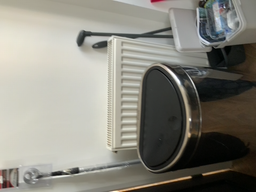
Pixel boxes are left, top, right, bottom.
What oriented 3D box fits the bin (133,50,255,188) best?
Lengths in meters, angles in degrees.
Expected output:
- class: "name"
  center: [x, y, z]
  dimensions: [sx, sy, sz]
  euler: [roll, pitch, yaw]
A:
- class: "bin"
  center: [0.400, 0.080, 0.940]
  dimensions: [0.310, 0.690, 0.420]
  euler: [-4, 85, 64]
